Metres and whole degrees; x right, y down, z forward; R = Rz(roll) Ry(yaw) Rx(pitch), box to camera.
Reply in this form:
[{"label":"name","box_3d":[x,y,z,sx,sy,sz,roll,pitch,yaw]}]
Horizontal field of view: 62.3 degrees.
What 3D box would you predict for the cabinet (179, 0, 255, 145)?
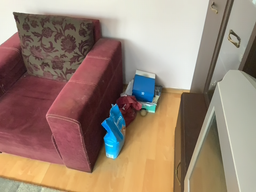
[{"label":"cabinet","box_3d":[0.680,-0.350,1.370,0.470,1.520,0.450,7,42,8]}]
